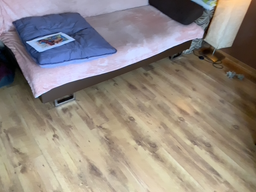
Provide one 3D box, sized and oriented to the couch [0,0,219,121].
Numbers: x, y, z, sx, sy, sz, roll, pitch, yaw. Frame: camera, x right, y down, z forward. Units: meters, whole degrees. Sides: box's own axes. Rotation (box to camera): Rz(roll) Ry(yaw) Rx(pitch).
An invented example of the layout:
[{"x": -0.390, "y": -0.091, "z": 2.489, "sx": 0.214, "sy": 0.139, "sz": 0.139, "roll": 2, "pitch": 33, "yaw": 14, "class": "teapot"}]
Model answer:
[{"x": -0.170, "y": -0.730, "z": 2.240, "sx": 2.110, "sy": 0.750, "sz": 0.980, "roll": -24, "pitch": 52, "yaw": -32, "class": "couch"}]
